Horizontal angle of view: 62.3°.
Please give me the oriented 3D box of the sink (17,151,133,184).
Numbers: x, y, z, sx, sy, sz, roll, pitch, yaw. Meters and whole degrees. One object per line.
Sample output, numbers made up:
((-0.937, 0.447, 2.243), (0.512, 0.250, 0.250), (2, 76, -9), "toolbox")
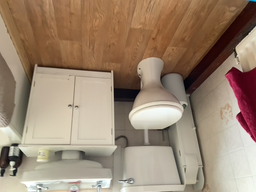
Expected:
((-0.320, 0.490, 1.430), (0.660, 0.140, 0.380), (0, 154, -6), "sink")

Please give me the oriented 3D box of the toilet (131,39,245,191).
((0.300, 0.170, 1.500), (0.440, 0.880, 0.650), (0, 154, -6), "toilet")
